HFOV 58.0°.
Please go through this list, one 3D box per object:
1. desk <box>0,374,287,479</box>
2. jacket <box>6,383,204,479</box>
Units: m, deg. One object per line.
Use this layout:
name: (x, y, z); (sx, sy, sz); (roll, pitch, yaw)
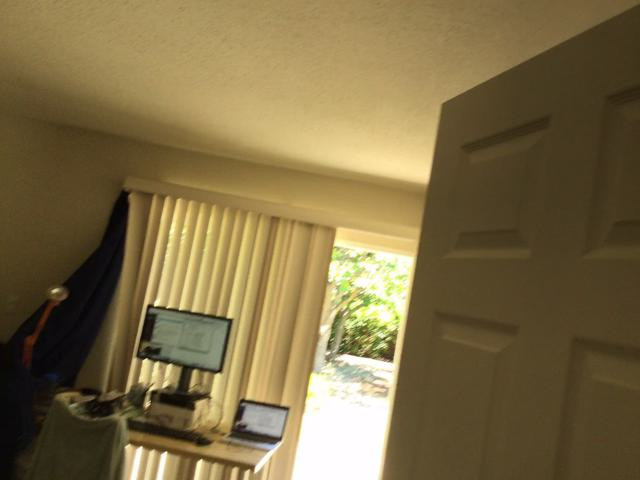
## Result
desk: (-0.990, 1.320, 3.190); (1.420, 0.790, 0.910); (12, -9, 3)
jacket: (-1.010, 1.190, 2.610); (0.550, 0.940, 0.560); (9, -9, 19)
